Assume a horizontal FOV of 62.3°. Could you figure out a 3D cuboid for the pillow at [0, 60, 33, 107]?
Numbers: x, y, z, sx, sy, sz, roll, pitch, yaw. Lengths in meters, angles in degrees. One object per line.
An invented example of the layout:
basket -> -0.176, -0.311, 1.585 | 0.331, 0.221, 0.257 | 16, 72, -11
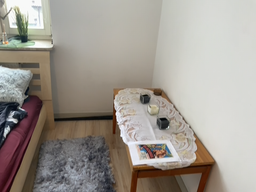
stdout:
pillow -> -1.220, -0.130, 1.950 | 0.520, 0.260, 0.490 | -1, 27, -11
